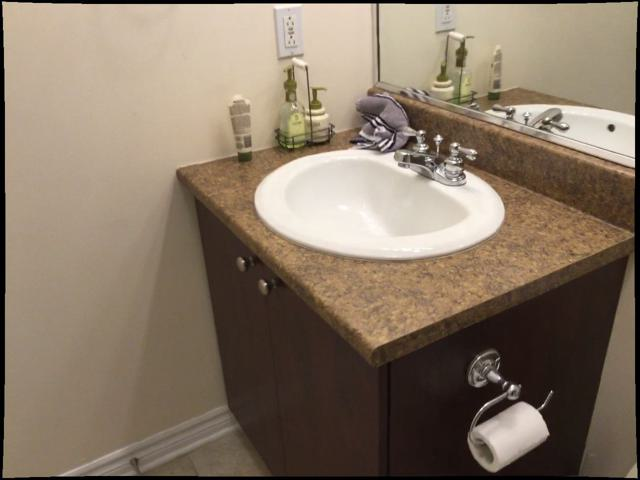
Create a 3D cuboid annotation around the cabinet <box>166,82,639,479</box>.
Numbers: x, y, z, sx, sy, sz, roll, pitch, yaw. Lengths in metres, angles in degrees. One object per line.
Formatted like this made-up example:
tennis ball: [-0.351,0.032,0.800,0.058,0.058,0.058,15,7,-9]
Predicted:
cabinet: [0.140,0.230,1.320,0.570,0.921,0.820,-19,33,-26]
